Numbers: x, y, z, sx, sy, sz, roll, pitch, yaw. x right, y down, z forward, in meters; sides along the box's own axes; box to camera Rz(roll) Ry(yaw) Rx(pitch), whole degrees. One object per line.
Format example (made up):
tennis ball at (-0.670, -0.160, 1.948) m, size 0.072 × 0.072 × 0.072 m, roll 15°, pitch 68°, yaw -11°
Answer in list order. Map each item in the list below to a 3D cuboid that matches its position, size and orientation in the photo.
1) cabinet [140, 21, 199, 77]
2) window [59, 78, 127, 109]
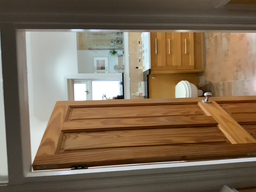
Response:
cabinet at (0.670, -0.760, 3.560) m, size 0.470 × 0.840 × 0.830 m, roll 170°, pitch 98°, yaw -83°
window at (-0.600, -0.040, 3.690) m, size 0.210 × 1.130 × 0.490 m, roll 154°, pitch 114°, yaw -82°
